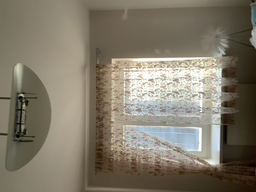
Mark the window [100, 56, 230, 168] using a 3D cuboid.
[{"bbox_3d":[0.500,0.200,3.110,0.330,1.750,1.500,-12,-77,-84],"label":"window"}]
